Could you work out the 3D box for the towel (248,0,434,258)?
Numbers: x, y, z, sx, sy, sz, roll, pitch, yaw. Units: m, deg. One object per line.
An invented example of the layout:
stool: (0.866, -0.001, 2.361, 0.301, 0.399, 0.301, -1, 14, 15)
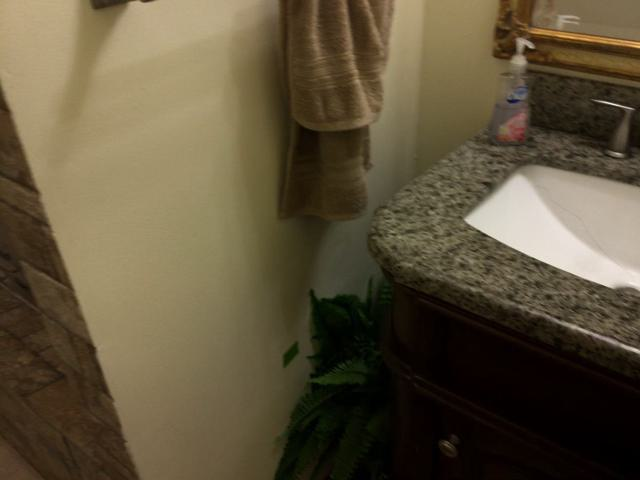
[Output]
towel: (0.050, -0.250, 0.960, 0.140, 0.460, 0.290, 21, 41, 32)
